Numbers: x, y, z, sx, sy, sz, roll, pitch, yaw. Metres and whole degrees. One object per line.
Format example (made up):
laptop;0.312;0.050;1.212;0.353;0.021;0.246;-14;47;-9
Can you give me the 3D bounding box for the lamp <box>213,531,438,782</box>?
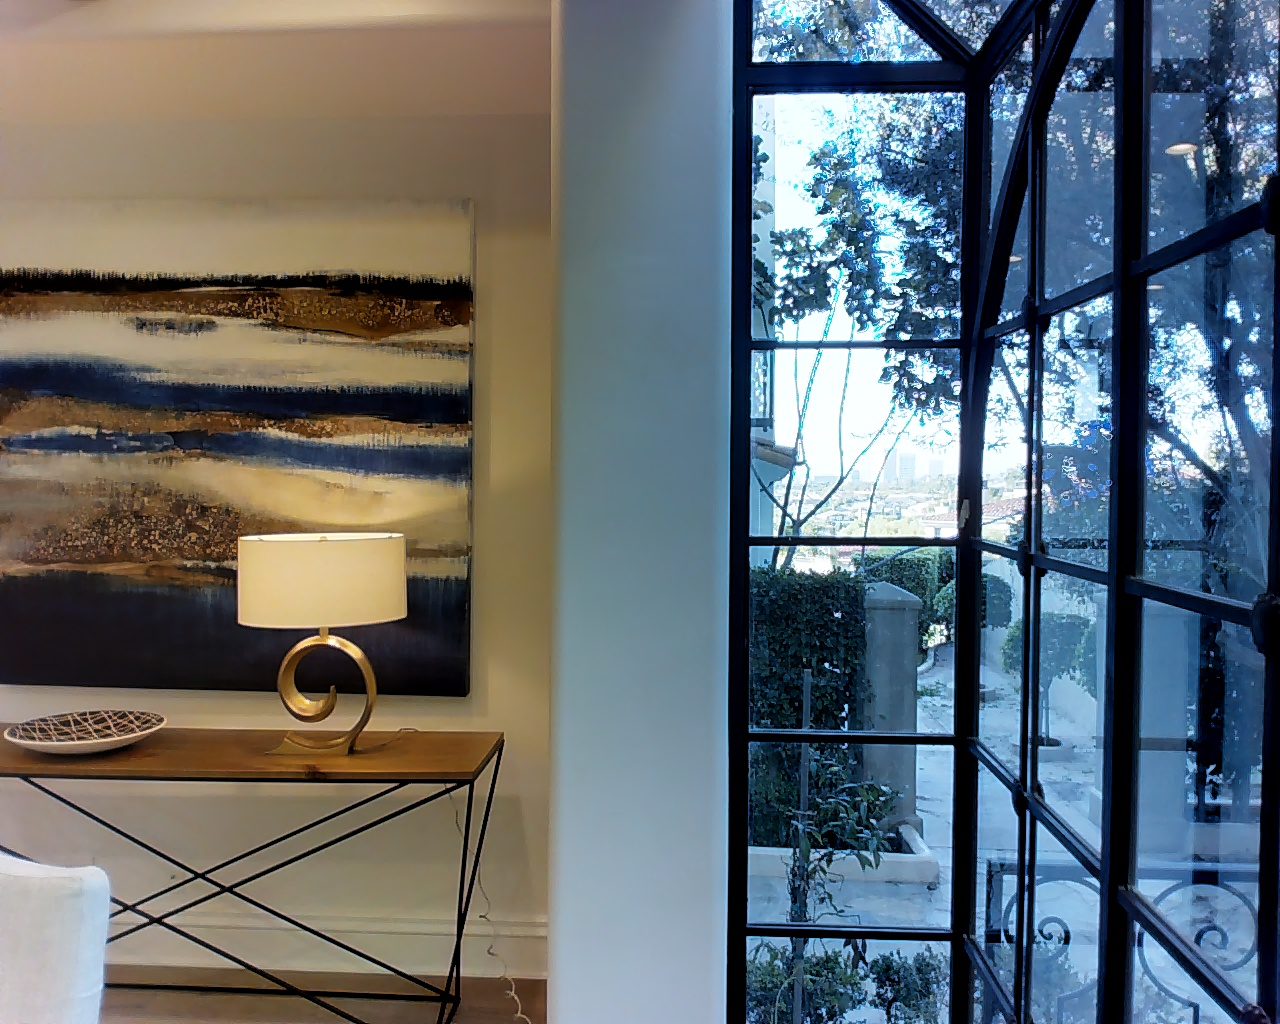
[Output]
lamp;-0.870;0.380;3.060;0.460;0.620;0.540;1;2;3
